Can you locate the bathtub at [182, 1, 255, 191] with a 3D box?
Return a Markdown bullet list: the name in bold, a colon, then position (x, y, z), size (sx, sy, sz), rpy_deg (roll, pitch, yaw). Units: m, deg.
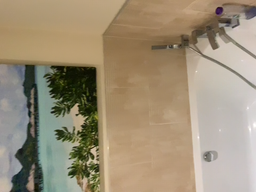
- **bathtub**: position (0.850, 0.370, 1.300), size (0.740, 0.550, 1.660), rpy_deg (166, 101, -68)
